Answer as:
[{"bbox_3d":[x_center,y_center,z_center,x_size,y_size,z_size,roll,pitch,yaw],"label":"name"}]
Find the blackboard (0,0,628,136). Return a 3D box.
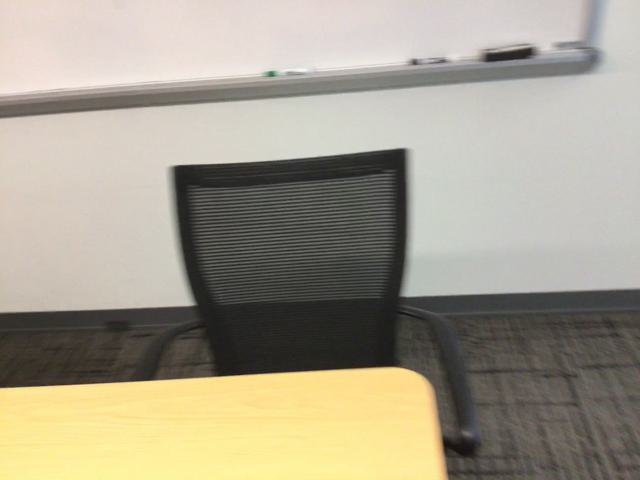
[{"bbox_3d":[-1.040,-0.520,1.660,3.580,0.430,0.130,-2,30,8],"label":"blackboard"}]
